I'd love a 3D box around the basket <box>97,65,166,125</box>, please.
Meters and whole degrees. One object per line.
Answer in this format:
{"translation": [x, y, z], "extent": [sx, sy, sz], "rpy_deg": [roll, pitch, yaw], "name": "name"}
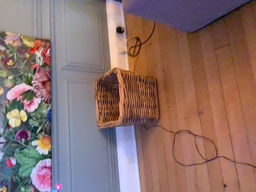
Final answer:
{"translation": [0.020, 0.020, 2.010], "extent": [0.450, 0.440, 0.450], "rpy_deg": [-20, 71, 55], "name": "basket"}
